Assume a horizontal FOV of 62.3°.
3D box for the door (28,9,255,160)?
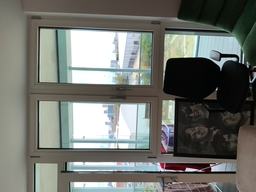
[{"bbox_3d":[0.240,-0.060,2.440,0.100,2.610,1.630,-106,18,-79],"label":"door"}]
